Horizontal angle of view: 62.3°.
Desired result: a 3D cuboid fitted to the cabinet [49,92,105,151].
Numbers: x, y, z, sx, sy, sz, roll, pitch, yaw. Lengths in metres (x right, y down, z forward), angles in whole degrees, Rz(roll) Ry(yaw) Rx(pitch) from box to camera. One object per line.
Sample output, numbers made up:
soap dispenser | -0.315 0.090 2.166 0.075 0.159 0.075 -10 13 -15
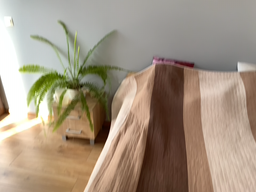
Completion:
cabinet | -0.500 0.250 2.210 0.410 0.410 0.400 6 28 9
